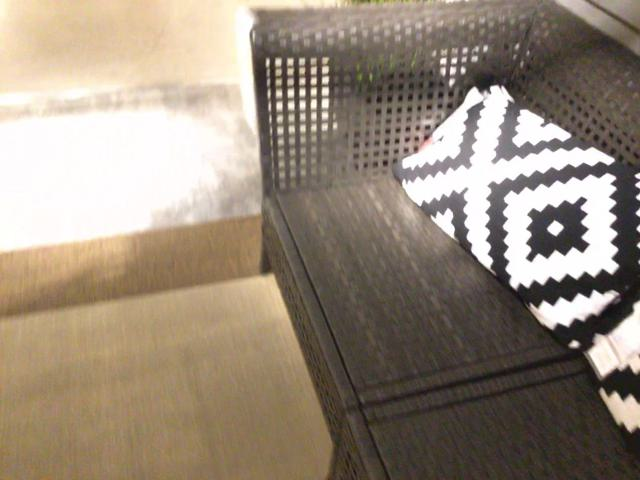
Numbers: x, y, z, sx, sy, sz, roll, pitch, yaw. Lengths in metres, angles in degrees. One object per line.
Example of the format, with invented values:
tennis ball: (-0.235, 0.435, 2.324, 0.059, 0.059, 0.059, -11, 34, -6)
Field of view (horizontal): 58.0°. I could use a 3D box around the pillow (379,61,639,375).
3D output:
pillow: (0.450, -0.100, 1.270, 0.310, 0.300, 0.680, -10, 43, -22)
